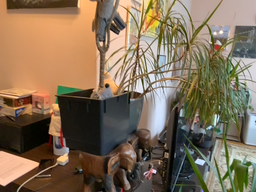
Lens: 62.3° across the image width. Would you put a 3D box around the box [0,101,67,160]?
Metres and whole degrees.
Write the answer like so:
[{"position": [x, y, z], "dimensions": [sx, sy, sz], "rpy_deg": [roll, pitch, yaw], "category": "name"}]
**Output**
[{"position": [-0.690, 0.190, 1.350], "dimensions": [0.540, 0.190, 0.270], "rpy_deg": [9, 13, 24], "category": "box"}]
